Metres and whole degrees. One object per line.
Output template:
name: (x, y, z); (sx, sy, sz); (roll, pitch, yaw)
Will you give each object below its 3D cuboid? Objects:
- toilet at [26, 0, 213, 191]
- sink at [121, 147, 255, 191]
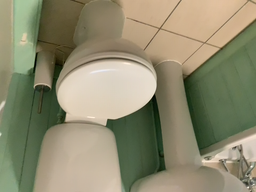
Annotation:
toilet: (-0.140, 0.010, 0.920); (0.420, 0.800, 0.670); (9, 148, -24)
sink: (0.310, 0.420, 1.050); (0.540, 0.180, 0.460); (9, 148, -24)
